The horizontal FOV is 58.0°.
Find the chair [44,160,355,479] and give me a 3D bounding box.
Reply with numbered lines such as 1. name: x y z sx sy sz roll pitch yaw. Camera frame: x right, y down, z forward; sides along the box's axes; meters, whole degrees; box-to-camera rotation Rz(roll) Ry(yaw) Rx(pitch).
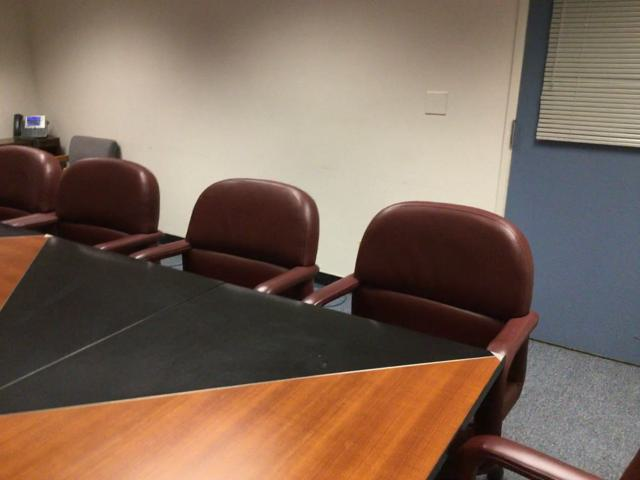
1. chair: -0.390 0.270 2.110 0.760 0.940 0.700 12 22 32

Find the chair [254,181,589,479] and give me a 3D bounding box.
1. chair: 0.310 0.400 1.780 0.700 0.960 0.700 12 22 32

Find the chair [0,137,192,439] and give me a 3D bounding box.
1. chair: -1.030 0.130 2.400 0.620 0.970 0.670 12 22 32
